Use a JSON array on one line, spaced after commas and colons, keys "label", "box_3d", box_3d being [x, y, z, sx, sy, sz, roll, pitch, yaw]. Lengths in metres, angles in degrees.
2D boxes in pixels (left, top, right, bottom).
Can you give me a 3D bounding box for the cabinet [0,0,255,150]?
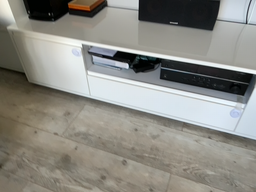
[{"label": "cabinet", "box_3d": [0.240, -0.190, 1.360, 1.910, 0.500, 0.570, 13, 44, 15]}]
